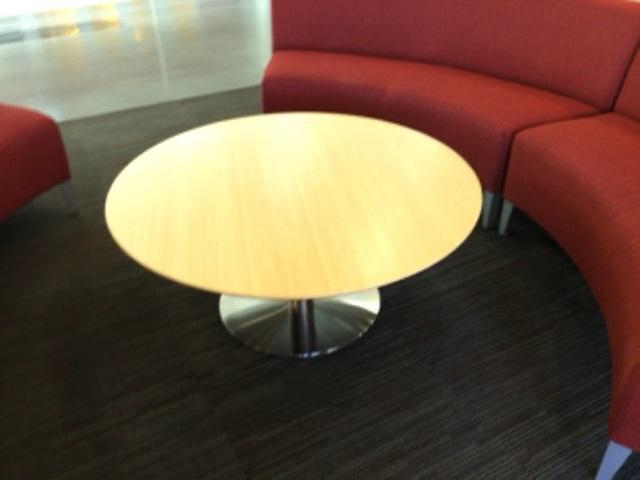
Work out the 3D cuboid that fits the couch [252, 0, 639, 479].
[{"bbox_3d":[0.830,-0.330,1.940,1.270,0.810,2.950,-16,35,-15],"label":"couch"}]
